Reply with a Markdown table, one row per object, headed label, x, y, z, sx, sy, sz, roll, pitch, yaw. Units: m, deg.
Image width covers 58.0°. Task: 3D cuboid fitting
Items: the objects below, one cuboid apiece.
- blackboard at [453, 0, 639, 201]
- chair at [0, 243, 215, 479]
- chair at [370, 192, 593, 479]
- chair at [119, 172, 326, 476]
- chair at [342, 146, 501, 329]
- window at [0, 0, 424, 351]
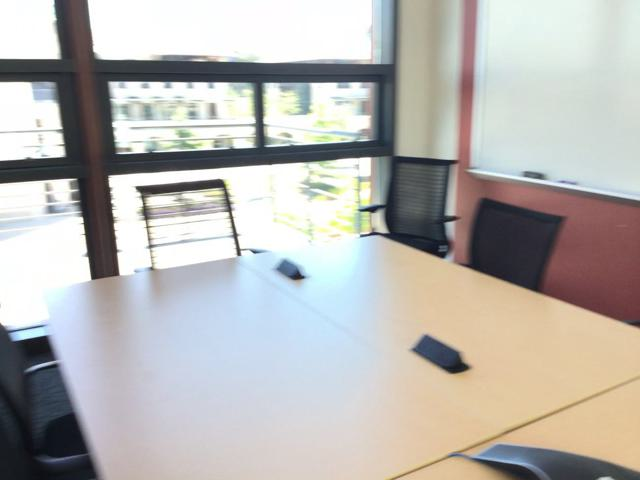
| label | x | y | z | sx | sy | sz | roll | pitch | yaw |
| --- | --- | --- | --- | --- | --- | --- | --- | --- | --- |
| blackboard | 1.460 | -0.790 | 2.460 | 0.150 | 1.240 | 2.520 | -8 | 17 | -25 |
| chair | -0.660 | 0.530 | 1.560 | 0.560 | 0.860 | 0.580 | -10 | 18 | -30 |
| chair | 0.590 | 0.330 | 2.320 | 0.600 | 0.910 | 0.580 | -6 | 16 | -16 |
| chair | -0.430 | 0.280 | 2.490 | 0.590 | 1.000 | 0.740 | -10 | 18 | -26 |
| chair | 0.630 | -0.070 | 3.620 | 0.690 | 0.920 | 0.690 | 12 | 20 | 40 |
| window | -0.860 | -0.880 | 3.280 | 3.200 | 2.790 | 0.210 | -8 | 18 | -21 |
